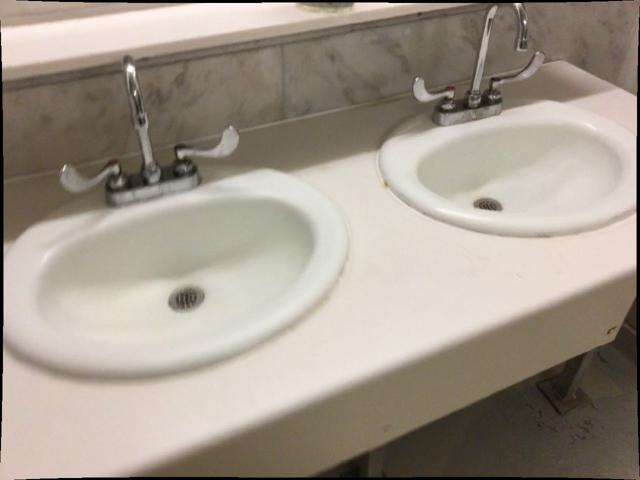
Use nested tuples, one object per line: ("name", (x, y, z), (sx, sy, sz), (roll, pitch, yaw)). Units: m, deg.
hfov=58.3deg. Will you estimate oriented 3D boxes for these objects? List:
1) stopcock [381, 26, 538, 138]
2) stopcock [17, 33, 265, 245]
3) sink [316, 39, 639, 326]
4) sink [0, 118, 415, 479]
("stopcock", (0.280, -0.330, 1.180), (0.250, 0.130, 0.160), (-17, 43, -19))
("stopcock", (-0.260, -0.160, 0.890), (0.310, 0.230, 0.130), (-17, 43, -19))
("sink", (0.340, -0.160, 1.110), (0.530, 0.200, 0.510), (-17, 43, -19))
("sink", (-0.210, 0.080, 0.900), (0.530, 0.270, 0.440), (-17, 43, -19))
